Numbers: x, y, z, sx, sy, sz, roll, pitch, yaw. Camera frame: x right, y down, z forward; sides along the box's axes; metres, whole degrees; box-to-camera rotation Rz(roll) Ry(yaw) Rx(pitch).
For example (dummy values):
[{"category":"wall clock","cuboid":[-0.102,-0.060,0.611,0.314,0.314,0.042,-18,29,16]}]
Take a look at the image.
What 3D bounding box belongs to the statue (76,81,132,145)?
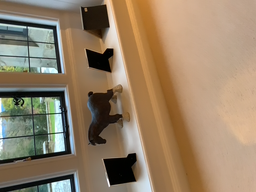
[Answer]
[{"category":"statue","cuboid":[-0.220,0.140,1.850,0.250,0.340,0.480,-37,61,55]}]
